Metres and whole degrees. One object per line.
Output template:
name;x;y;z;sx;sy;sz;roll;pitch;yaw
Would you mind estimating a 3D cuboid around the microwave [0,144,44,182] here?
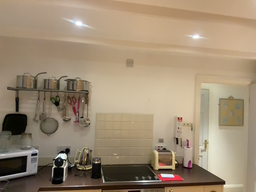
microwave;-1.130;0.640;2.060;0.300;0.230;0.500;1;-2;44
